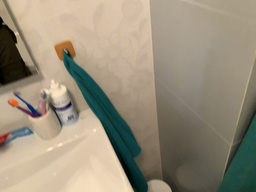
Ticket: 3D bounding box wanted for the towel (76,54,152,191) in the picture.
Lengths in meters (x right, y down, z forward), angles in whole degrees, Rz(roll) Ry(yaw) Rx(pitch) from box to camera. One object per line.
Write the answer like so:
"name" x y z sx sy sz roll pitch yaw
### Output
"towel" -0.020 0.240 0.910 0.140 0.820 0.180 -21 41 -14
